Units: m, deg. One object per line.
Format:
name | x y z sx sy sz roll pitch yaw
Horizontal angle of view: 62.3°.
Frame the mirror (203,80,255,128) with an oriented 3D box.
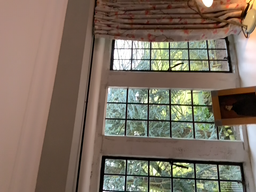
mirror | 0.730 0.060 1.490 0.130 0.310 0.260 56 -155 -69
